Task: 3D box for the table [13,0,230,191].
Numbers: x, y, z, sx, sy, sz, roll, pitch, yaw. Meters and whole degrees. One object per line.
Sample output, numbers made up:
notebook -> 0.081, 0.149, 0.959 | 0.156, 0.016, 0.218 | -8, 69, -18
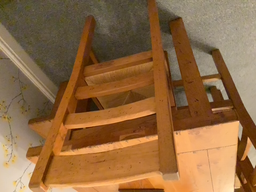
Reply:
table -> 0.240, 0.420, 1.590 | 0.770, 0.750, 1.810 | -13, 138, 16
